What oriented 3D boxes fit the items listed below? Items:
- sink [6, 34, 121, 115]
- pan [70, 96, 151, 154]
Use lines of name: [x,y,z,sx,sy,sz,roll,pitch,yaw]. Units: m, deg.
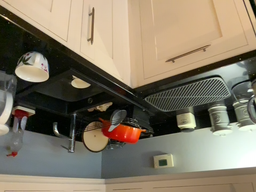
sink: [-0.360,-0.080,1.230,0.510,0.190,0.380,-17,152,30]
pan: [-0.110,0.250,1.610,0.380,0.270,0.510,-15,153,25]
